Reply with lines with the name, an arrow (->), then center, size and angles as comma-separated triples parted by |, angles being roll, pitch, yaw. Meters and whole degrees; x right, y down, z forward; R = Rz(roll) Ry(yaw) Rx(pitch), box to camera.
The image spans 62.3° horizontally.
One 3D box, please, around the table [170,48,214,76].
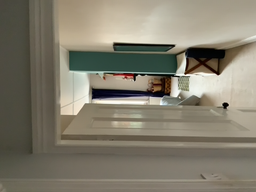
table -> 1.170, -0.610, 3.990 | 0.640, 0.570, 0.460 | -126, 38, -84
